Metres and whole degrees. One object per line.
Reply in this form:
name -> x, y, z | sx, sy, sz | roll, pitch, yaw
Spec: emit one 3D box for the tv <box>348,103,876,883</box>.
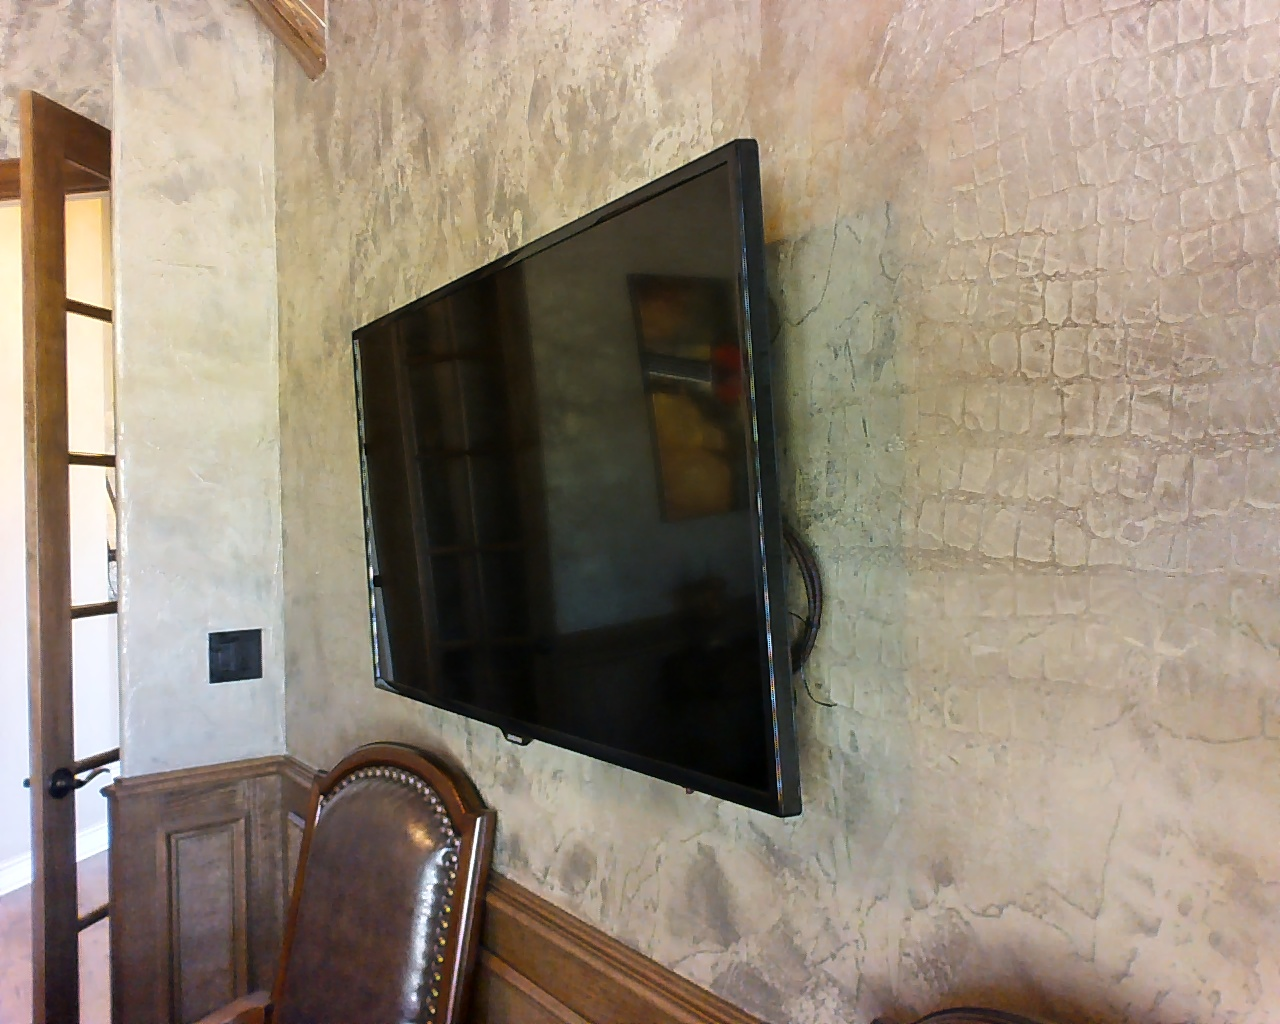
tv -> -0.140, 0.000, 1.420 | 0.120, 0.690, 1.070 | -1, -2, -34
